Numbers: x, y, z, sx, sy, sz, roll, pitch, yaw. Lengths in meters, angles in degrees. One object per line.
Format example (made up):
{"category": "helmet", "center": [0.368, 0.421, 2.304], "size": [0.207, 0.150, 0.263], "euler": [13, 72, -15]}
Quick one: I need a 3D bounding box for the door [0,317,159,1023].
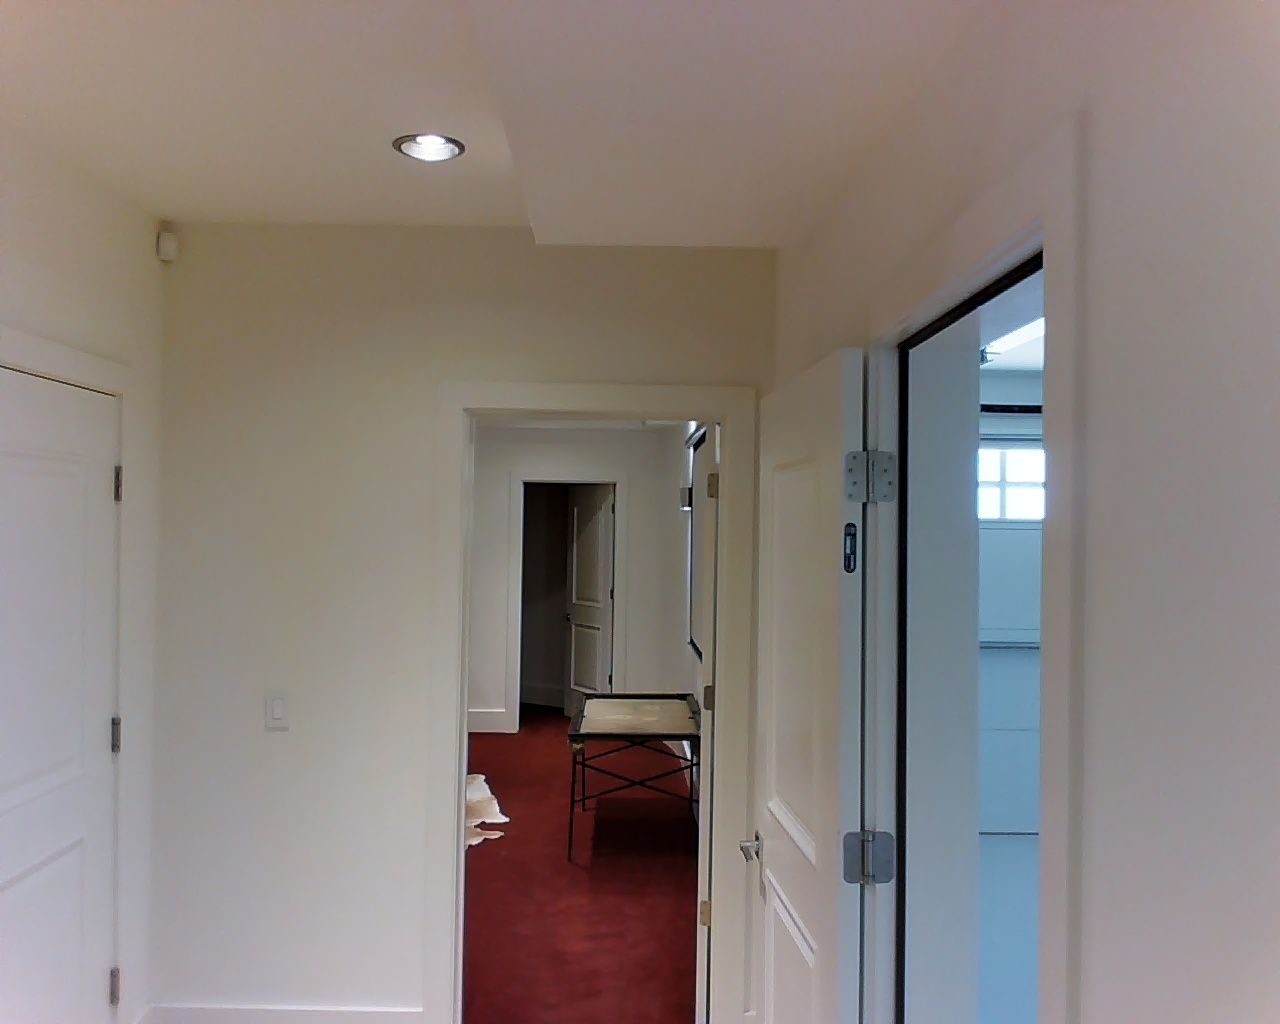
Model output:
{"category": "door", "center": [-1.540, 0.660, 2.780], "size": [0.060, 2.220, 1.100], "euler": [1, -1, -1]}

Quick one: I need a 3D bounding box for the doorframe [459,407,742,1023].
{"category": "doorframe", "center": [-0.130, 0.740, 3.670], "size": [0.910, 2.160, 0.230], "euler": [1, -1, -1]}

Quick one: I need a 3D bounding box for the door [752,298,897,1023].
{"category": "door", "center": [0.410, 0.680, 2.580], "size": [0.090, 2.180, 0.990], "euler": [1, -1, -4]}
